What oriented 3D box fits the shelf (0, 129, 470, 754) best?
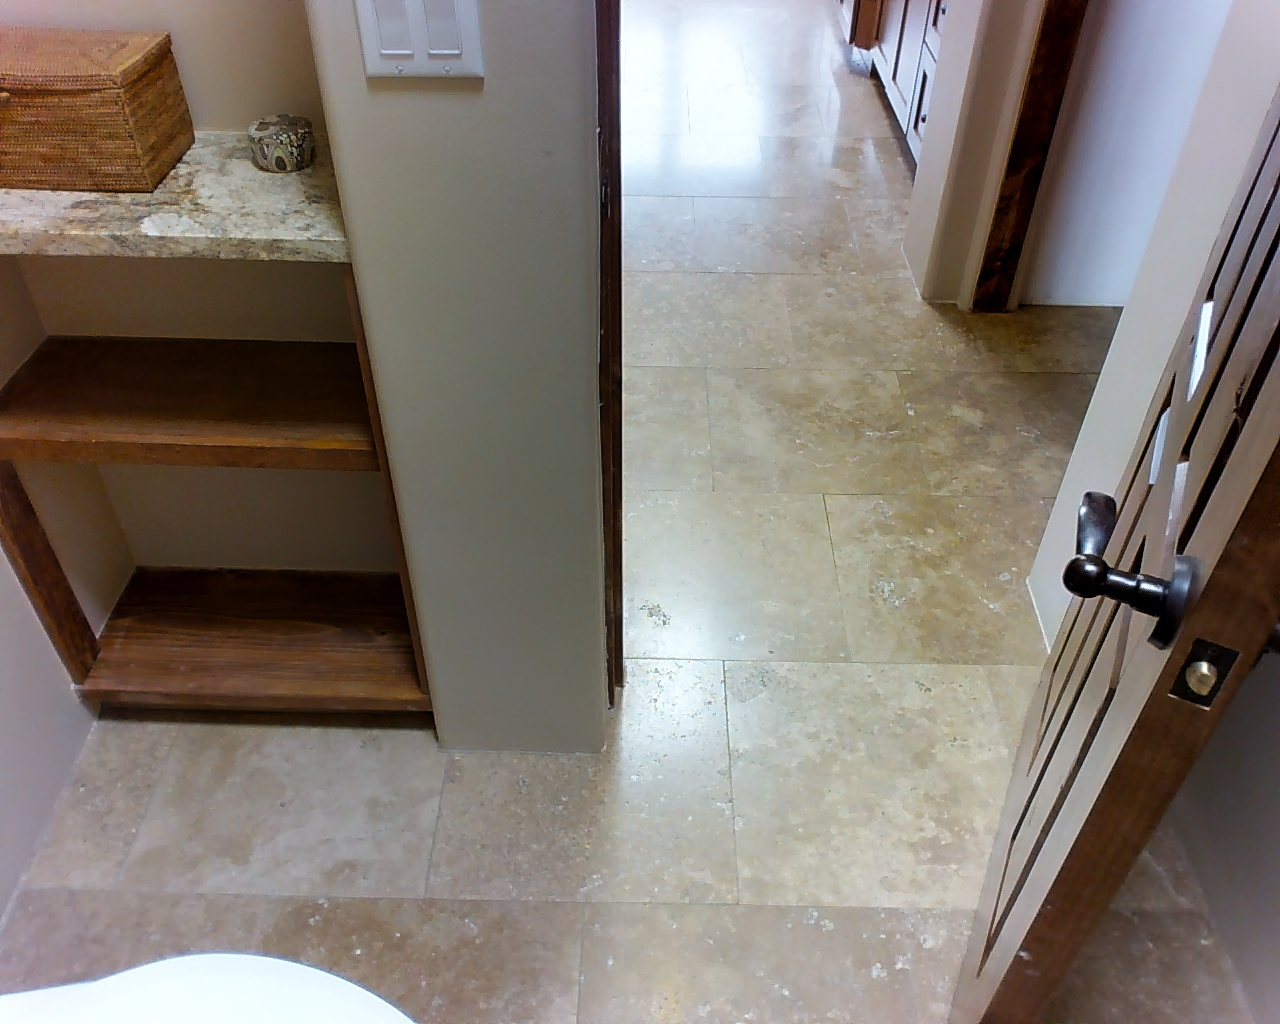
[{"bbox_3d":[-0.600,-0.050,1.560,0.580,0.900,0.300,2,41,1],"label":"shelf"}]
